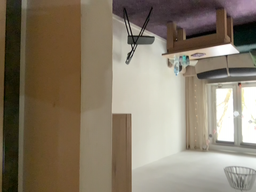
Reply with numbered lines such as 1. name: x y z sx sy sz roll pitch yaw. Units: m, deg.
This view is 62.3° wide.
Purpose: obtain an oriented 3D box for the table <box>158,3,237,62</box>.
1. table: 1.140 -0.980 3.540 1.100 0.590 0.640 -1 178 39
